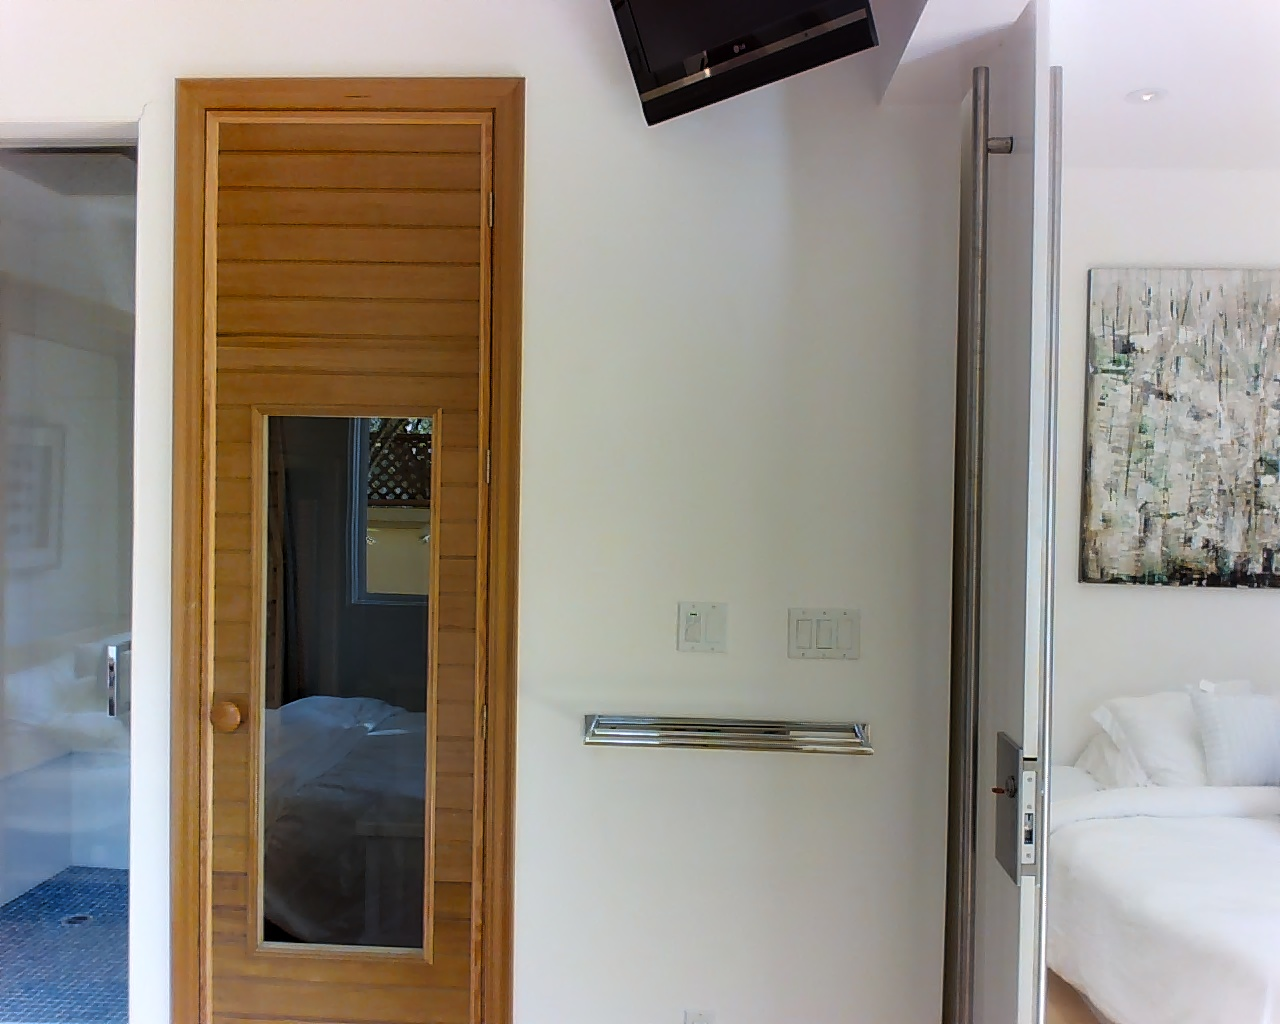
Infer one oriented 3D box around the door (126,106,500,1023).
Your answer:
[{"bbox_3d":[-0.780,0.310,2.560,0.850,2.501,0.090,1,1,3],"label":"door"}]
